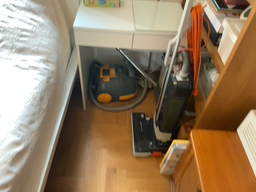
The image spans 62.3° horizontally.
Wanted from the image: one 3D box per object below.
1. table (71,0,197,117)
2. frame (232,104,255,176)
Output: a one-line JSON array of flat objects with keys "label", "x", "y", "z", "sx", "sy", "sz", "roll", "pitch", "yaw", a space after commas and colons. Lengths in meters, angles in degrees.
[{"label": "table", "x": 0.010, "y": -0.310, "z": 1.690, "sx": 0.730, "sy": 0.780, "sz": 0.550, "roll": 3, "pitch": 46, "yaw": -3}, {"label": "frame", "x": 0.560, "y": 0.190, "z": 0.930, "sx": 0.070, "sy": 0.150, "sz": 0.270, "roll": 15, "pitch": 46, "yaw": -5}]
